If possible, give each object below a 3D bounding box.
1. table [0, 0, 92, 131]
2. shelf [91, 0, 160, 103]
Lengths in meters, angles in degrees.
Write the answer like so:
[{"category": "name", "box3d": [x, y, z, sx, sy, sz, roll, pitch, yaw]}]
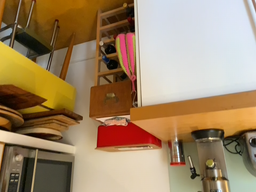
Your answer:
[{"category": "table", "box3d": [-0.650, -0.210, 1.470, 0.440, 0.750, 0.700, -11, 157, 24]}, {"category": "shelf", "box3d": [-0.010, -0.310, 1.460, 0.350, 0.610, 0.300, -9, 158, 20]}]
